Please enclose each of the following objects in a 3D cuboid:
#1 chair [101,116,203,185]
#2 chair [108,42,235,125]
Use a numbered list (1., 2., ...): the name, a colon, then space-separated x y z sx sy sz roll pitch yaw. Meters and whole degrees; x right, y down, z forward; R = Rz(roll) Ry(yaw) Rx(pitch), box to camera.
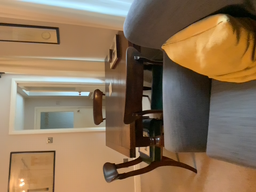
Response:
1. chair: 0.190 0.480 2.060 0.510 0.820 0.520 150 119 -72
2. chair: 0.300 -0.080 1.660 0.520 0.820 0.510 -176 86 -74
